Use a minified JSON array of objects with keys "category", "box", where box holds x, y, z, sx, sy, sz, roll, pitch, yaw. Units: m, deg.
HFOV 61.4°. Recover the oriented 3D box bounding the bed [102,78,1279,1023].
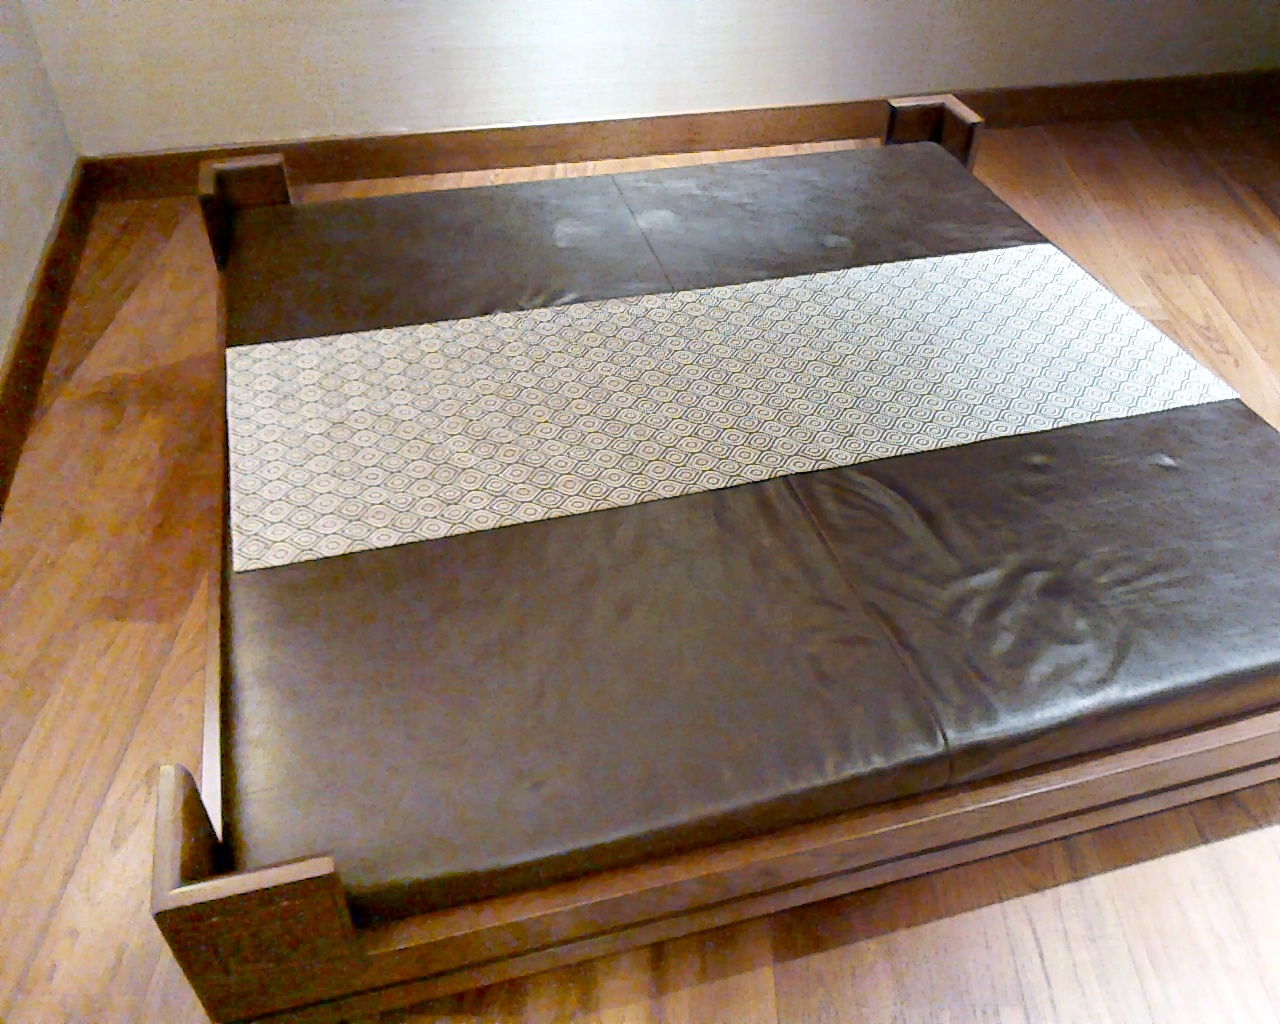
[{"category":"bed","box":[0.150,-0.190,2.290,2.090,0.540,2.100,-10,43,-12]}]
